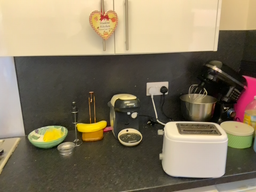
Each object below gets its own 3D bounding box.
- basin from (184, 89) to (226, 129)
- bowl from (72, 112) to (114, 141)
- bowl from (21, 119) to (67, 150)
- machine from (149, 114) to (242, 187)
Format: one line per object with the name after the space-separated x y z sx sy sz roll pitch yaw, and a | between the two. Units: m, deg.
0.490 0.080 1.380 0.190 0.210 0.150 -3 16 -9 | basin
-0.210 0.180 1.280 0.230 0.100 0.150 -3 16 -10 | bowl
-0.460 0.210 1.200 0.210 0.070 0.200 -4 16 -13 | bowl
0.270 0.220 0.920 0.310 0.200 0.210 -3 16 -10 | machine
